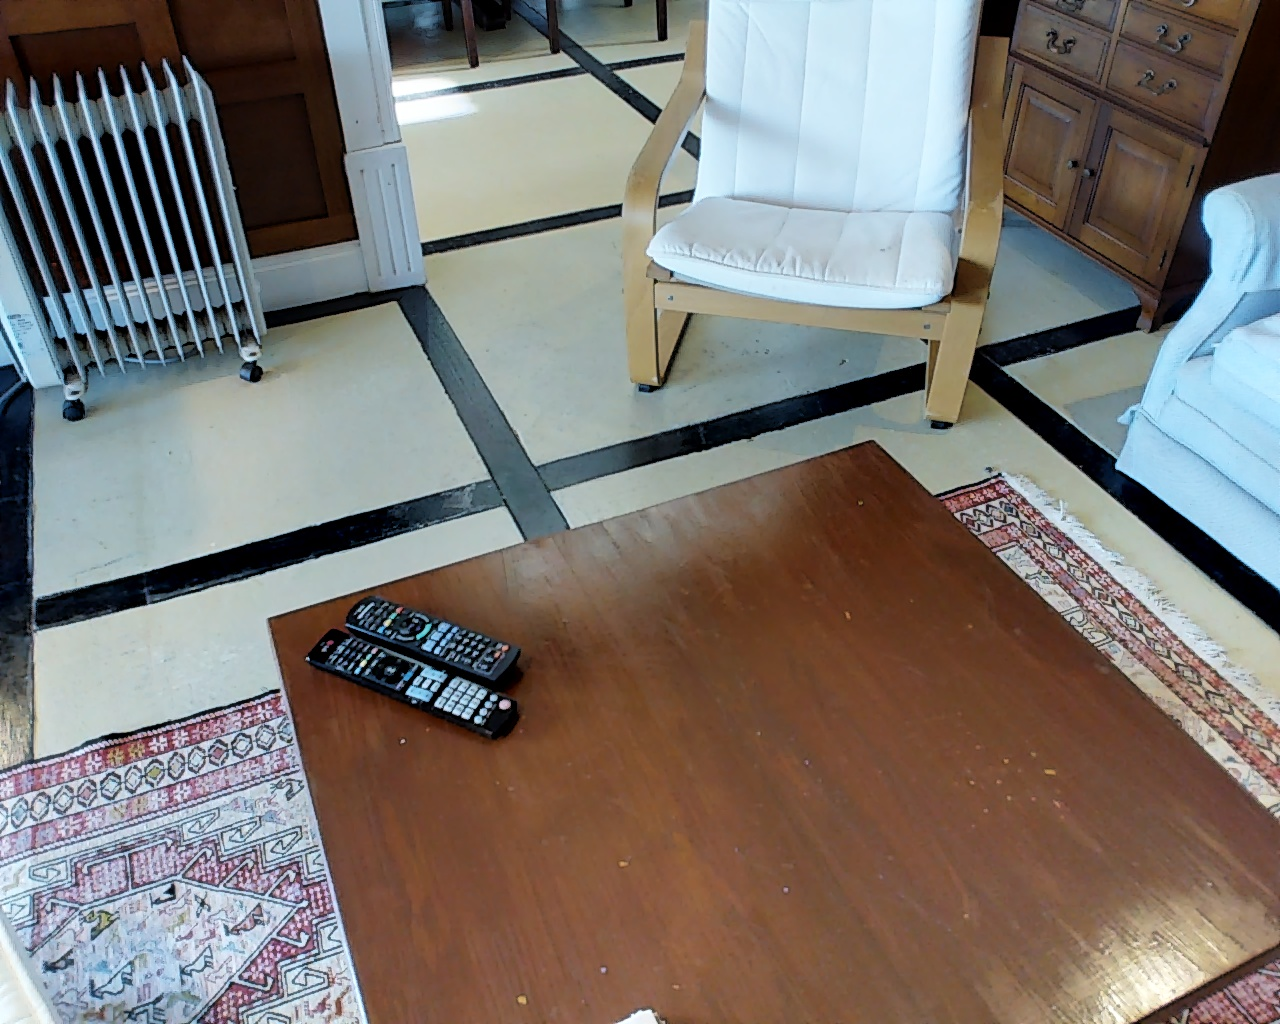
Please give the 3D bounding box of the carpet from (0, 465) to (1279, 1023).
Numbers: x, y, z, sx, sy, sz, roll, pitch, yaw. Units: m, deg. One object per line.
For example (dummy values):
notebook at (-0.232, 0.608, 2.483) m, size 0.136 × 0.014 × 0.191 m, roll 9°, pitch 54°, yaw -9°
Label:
carpet at (-0.030, 0.560, 1.360) m, size 2.100 × 0.010 × 1.300 m, roll -15°, pitch 42°, yaw -17°

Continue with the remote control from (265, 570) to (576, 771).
remote control at (-0.230, 0.160, 1.140) m, size 0.280 × 0.030 × 0.160 m, roll 15°, pitch 43°, yaw 18°
